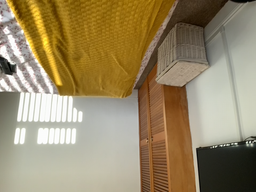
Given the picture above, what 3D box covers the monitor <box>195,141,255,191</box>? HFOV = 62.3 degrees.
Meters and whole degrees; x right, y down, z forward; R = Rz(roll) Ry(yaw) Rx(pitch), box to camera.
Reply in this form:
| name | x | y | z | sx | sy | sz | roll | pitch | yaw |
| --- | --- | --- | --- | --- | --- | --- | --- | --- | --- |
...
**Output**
| name | x | y | z | sx | sy | sz | roll | pitch | yaw |
| --- | --- | --- | --- | --- | --- | --- | --- | --- | --- |
| monitor | 0.700 | 0.540 | 1.240 | 0.050 | 0.520 | 1.030 | 2 | 163 | -12 |
